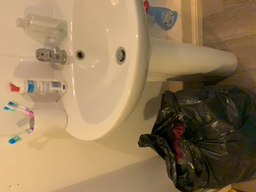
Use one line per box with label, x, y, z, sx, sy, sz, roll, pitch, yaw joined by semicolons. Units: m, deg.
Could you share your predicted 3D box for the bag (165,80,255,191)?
bag;0.440;0.180;0.940;0.240;0.510;0.460;-7;86;49
